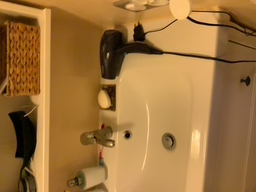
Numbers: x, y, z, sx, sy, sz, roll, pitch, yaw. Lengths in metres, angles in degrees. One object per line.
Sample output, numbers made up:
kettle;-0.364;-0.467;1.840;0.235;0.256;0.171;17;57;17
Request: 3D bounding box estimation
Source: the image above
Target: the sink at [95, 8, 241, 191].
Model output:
sink;0.080;0.170;0.770;0.480;0.130;0.830;11;100;48
